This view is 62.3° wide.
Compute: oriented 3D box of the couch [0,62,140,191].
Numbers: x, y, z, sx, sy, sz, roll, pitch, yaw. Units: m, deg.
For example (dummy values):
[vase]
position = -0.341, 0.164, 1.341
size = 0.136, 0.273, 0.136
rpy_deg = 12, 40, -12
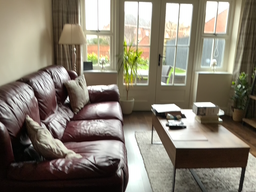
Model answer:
[couch]
position = -0.580, 0.220, 2.080
size = 1.060, 0.910, 2.180
rpy_deg = 0, 14, -5
